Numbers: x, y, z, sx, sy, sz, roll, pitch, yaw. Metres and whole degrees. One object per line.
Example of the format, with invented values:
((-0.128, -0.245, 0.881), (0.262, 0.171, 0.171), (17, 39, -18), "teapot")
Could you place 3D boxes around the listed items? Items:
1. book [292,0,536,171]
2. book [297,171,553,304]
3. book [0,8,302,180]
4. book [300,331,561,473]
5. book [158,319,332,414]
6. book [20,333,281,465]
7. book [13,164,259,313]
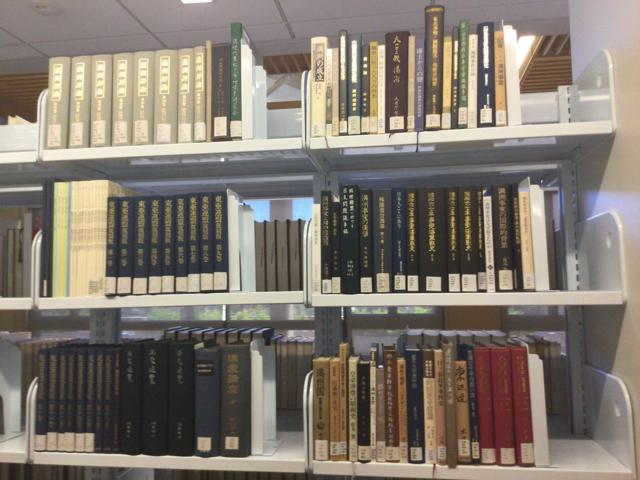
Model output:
((0.190, -0.330, 1.250), (0.470, 0.300, 0.200), (-2, -6, 6), "book")
((0.200, 0.000, 1.160), (0.480, 0.240, 0.070), (-2, -7, 7), "book")
((-0.380, -0.320, 1.330), (0.650, 0.300, 0.190), (-2, -6, 6), "book")
((0.210, 0.320, 1.180), (0.480, 0.250, 0.160), (-2, -6, 6), "book")
((-0.210, 0.360, 1.670), (0.470, 0.250, 0.160), (-2, -6, 6), "book")
((-0.360, 0.340, 1.280), (0.520, 0.250, 0.180), (-2, -6, 6), "book")
((-0.400, 0.010, 1.320), (0.480, 0.300, 0.220), (-2, -6, 6), "book")
